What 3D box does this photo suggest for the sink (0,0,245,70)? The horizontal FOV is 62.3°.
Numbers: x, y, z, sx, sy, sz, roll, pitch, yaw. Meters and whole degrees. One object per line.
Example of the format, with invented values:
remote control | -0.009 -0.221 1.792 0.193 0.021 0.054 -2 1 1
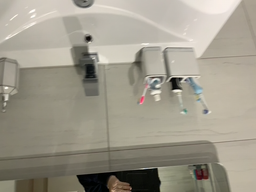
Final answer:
sink | -0.130 -0.250 0.620 0.820 0.150 0.400 -4 162 -4
